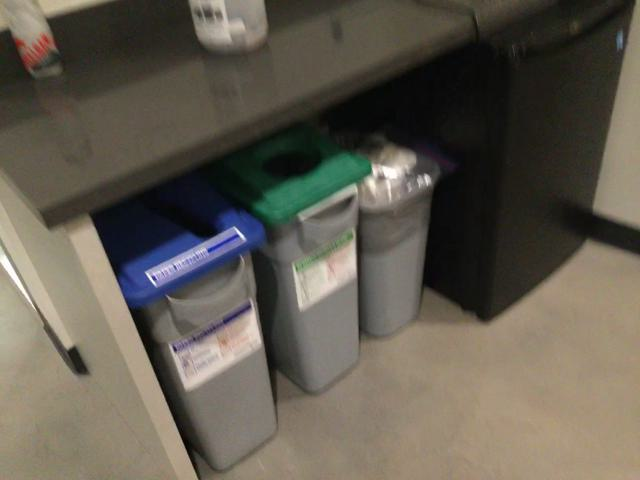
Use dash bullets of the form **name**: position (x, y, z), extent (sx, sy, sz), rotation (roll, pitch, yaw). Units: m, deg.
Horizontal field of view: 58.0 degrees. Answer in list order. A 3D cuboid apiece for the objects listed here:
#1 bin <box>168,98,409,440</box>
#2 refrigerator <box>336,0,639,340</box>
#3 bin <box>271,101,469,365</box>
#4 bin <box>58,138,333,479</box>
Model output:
- **bin**: position (-0.050, 0.070, 1.400), extent (0.330, 0.670, 0.360), rotation (-27, 38, -22)
- **refrigerator**: position (0.480, -0.280, 1.650), extent (0.570, 0.810, 0.520), rotation (-27, 38, -22)
- **bin**: position (0.150, -0.030, 1.610), extent (0.310, 0.540, 0.410), rotation (-27, 38, -22)
- **bin**: position (-0.250, 0.190, 1.270), extent (0.290, 0.670, 0.400), rotation (-27, 38, -22)
